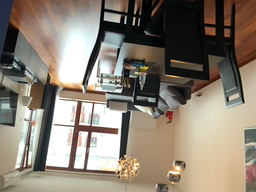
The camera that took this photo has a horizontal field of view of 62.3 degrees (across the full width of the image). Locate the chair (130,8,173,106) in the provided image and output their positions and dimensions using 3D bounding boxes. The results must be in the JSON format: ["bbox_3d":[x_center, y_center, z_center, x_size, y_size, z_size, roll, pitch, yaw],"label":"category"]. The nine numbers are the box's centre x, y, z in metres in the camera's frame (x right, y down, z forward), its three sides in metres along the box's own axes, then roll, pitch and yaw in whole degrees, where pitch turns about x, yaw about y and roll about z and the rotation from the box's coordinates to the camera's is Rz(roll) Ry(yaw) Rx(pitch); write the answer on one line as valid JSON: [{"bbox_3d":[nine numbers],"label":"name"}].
[{"bbox_3d":[0.280,-0.450,2.620,0.350,1.050,0.490,7,168,-8],"label":"chair"}]

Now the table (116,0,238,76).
[{"bbox_3d":[0.440,-0.710,2.230,0.990,0.690,0.790,6,168,-7],"label":"table"}]

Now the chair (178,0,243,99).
[{"bbox_3d":[0.880,-0.500,2.320,0.520,0.970,0.370,6,168,-4],"label":"chair"}]

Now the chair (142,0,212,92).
[{"bbox_3d":[0.410,-0.610,1.830,0.350,1.040,0.500,8,167,-15],"label":"chair"}]
